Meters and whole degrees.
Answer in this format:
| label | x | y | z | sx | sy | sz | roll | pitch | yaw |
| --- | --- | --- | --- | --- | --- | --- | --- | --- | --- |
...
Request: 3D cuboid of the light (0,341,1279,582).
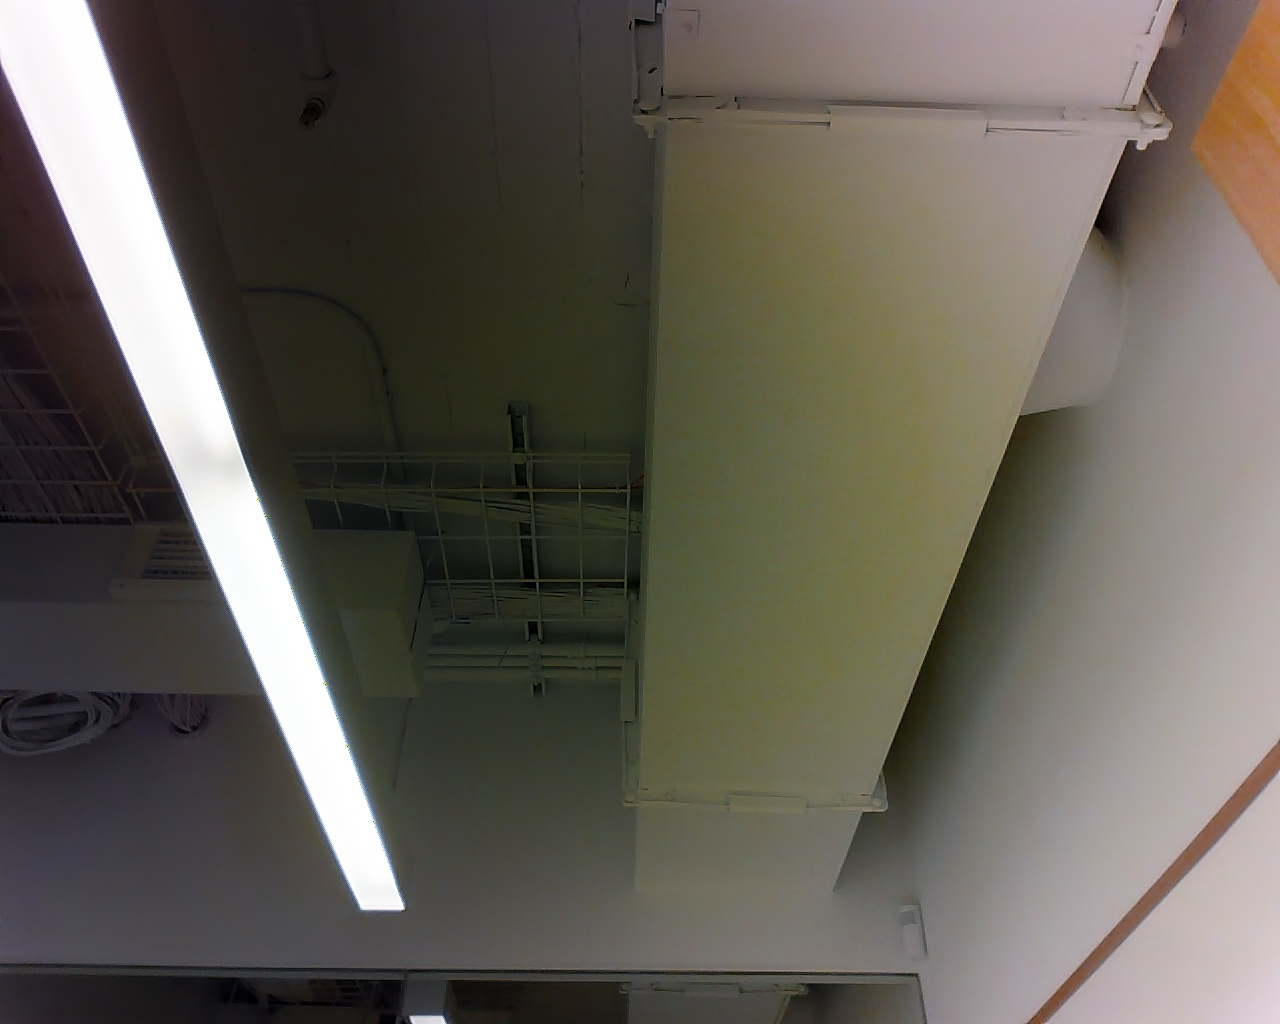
| label | x | y | z | sx | sy | sz | roll | pitch | yaw |
| --- | --- | --- | --- | --- | --- | --- | --- | --- | --- |
| light | -0.500 | -0.070 | 1.300 | 2.518 | 0.200 | 0.170 | 1 | -42 | -1 |
